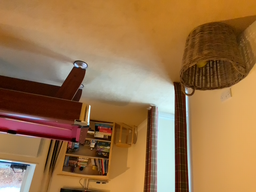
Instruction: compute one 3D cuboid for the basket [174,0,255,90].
[{"bbox_3d":[0.710,-0.390,1.700,0.480,0.420,0.540,10,156,-12],"label":"basket"}]
